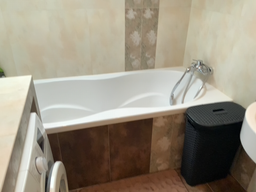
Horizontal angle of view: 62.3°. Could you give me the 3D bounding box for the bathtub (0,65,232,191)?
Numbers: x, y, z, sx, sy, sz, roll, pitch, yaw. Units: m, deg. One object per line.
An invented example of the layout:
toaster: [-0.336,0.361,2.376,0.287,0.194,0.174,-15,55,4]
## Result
bathtub: [-0.220,0.210,1.860,1.890,0.590,0.790,-7,29,-15]
